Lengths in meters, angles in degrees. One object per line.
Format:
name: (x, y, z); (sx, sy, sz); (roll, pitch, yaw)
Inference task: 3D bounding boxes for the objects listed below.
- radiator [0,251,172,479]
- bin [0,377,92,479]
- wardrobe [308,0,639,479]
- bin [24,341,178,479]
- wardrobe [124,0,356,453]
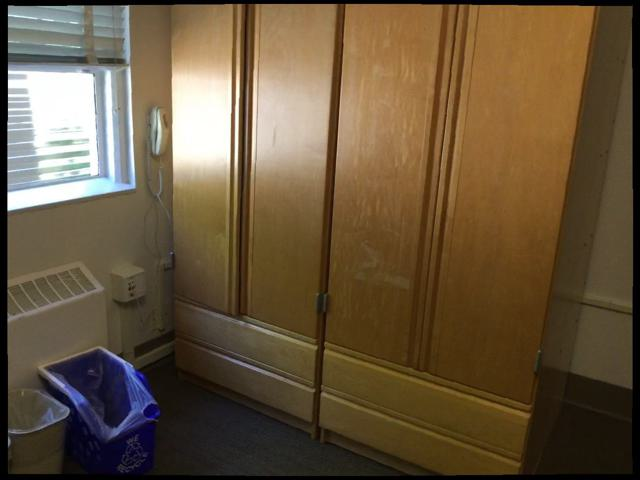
radiator: (-1.148, 0.541, 1.930); (0.390, 0.671, 1.289); (13, 19, 34)
bin: (-0.988, 0.711, 1.950); (0.310, 0.331, 0.260); (13, 19, 34)
wardrobe: (0.609, -0.110, 2.220); (0.779, 1.963, 1.079); (13, 19, 34)
bin: (-0.798, 0.651, 2.120); (0.439, 0.361, 0.310); (13, 19, 34)
wardrobe: (-0.349, -0.200, 2.300); (0.979, 1.893, 0.190); (13, 19, 34)
